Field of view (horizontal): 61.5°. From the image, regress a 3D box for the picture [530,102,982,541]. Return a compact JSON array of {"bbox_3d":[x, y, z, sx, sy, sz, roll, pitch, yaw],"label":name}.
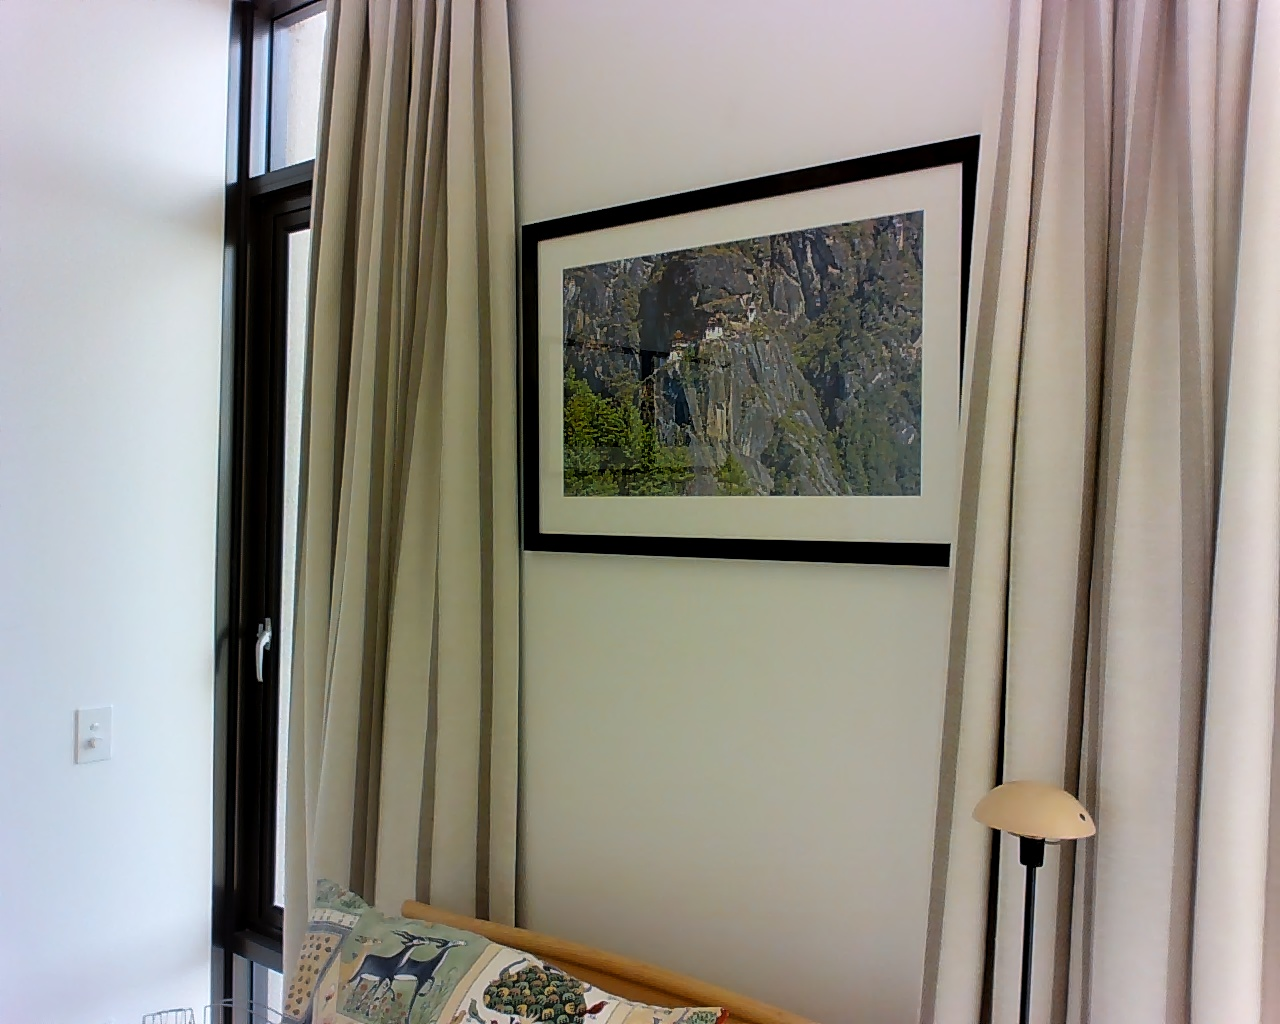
[{"bbox_3d":[0.130,-0.250,1.620,0.750,0.560,0.050,1,1,37],"label":"picture"}]
